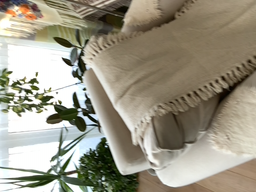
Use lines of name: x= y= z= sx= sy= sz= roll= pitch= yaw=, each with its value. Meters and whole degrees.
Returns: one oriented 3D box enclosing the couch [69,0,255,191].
couch: x=0.390 y=-0.150 z=0.950 sx=1.030 sy=0.830 sz=0.870 roll=-54 pitch=50 yaw=39
